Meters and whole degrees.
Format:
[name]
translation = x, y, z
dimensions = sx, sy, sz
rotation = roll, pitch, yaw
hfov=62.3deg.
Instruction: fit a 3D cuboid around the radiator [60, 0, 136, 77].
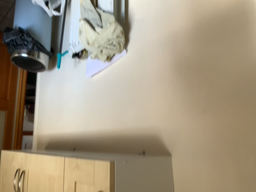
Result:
[radiator]
translation = -0.200, -0.560, 1.270
dimensions = 0.190, 0.780, 0.490
rotation = 8, 166, -41
